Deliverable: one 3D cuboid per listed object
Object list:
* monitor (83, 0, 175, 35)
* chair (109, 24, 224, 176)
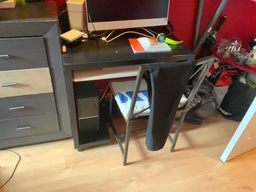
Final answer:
[{"bbox_3d":[0.020,-0.600,1.330,0.570,0.400,0.090,-5,40,-22],"label":"monitor"},{"bbox_3d":[0.150,0.040,1.400,0.440,0.860,0.470,-7,41,-15],"label":"chair"}]
